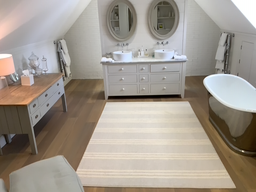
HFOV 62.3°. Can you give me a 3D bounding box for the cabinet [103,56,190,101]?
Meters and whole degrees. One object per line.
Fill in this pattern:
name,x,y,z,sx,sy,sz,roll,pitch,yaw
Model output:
cabinet,0.400,-0.390,4.740,1.780,0.870,0.580,0,20,5
